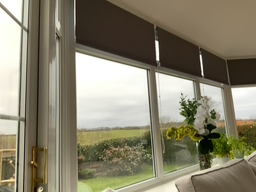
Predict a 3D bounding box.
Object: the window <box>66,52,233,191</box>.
[{"bbox_3d":[0.550,0.290,2.160,0.070,0.930,2.570,-11,-12,43],"label":"window"}]
